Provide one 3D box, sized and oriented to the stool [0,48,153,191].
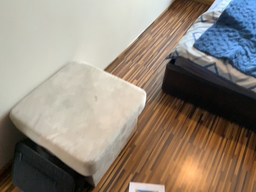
[{"bbox_3d":[-0.260,0.130,1.310,0.560,0.430,0.590,27,54,19],"label":"stool"}]
